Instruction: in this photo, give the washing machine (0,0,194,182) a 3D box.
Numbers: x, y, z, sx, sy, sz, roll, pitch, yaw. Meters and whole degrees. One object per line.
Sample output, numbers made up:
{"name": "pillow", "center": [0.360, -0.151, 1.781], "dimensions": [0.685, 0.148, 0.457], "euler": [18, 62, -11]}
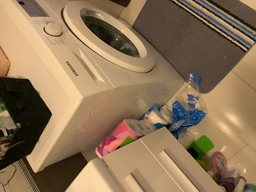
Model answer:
{"name": "washing machine", "center": [-0.190, -0.130, 1.130], "dimensions": [0.620, 0.840, 0.550], "euler": [47, 119, 20]}
